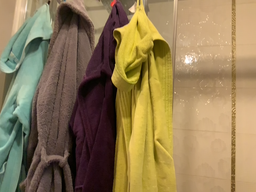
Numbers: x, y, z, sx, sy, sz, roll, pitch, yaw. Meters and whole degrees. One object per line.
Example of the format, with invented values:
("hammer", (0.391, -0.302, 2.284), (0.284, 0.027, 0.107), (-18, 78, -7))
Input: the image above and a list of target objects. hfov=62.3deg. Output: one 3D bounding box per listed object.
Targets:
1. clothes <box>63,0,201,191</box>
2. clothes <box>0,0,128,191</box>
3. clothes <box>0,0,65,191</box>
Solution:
("clothes", (0.020, 0.420, 0.650), (0.330, 1.680, 0.300), (1, -7, 22))
("clothes", (-0.200, 0.170, 0.790), (0.180, 1.130, 0.440), (1, -7, 22))
("clothes", (-0.500, 0.160, 0.780), (0.360, 1.190, 0.190), (2, -7, 18))
